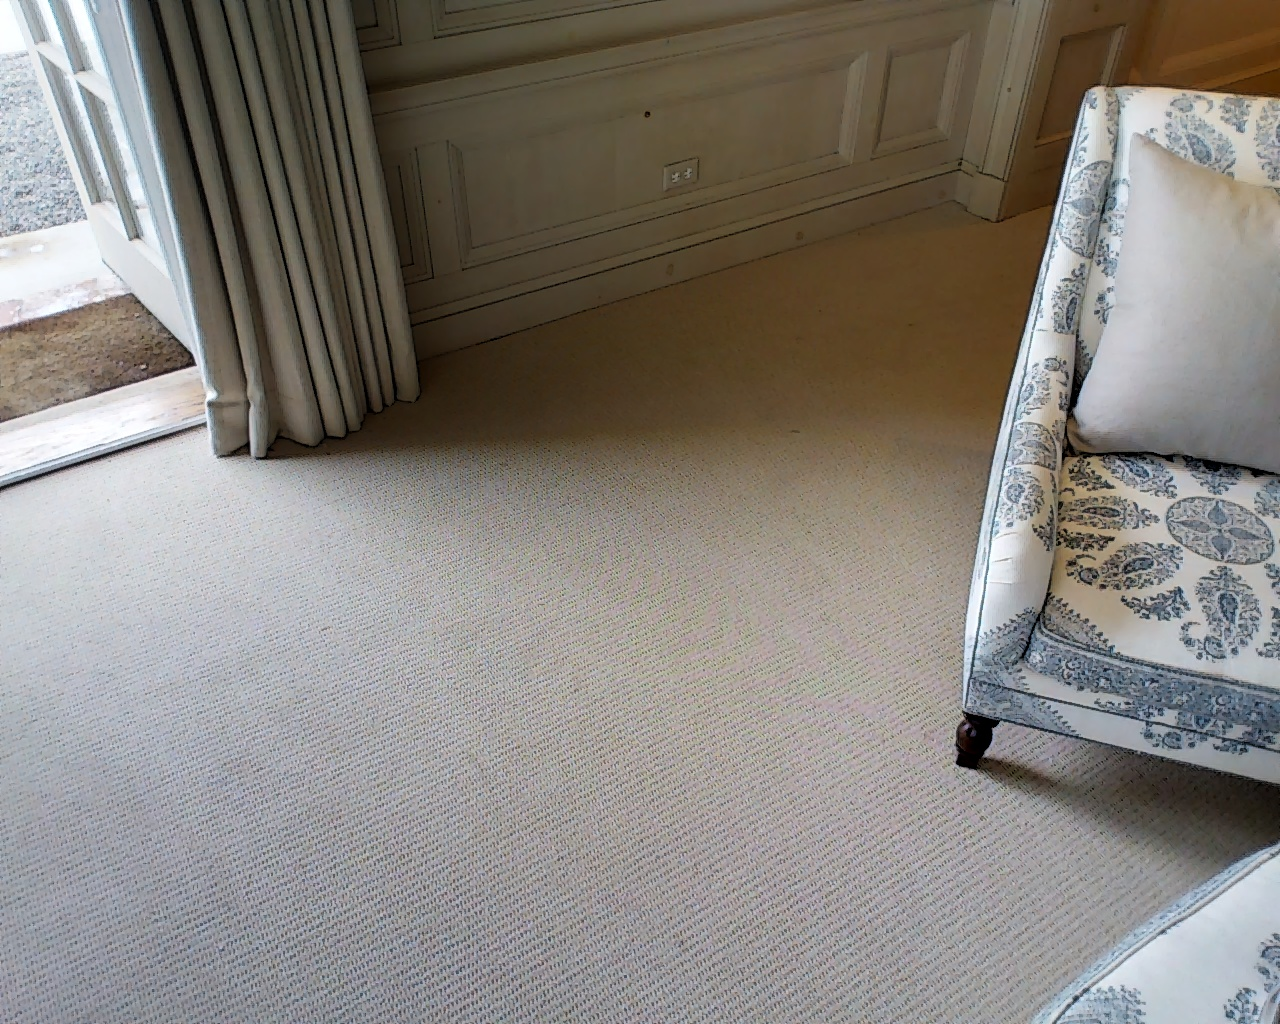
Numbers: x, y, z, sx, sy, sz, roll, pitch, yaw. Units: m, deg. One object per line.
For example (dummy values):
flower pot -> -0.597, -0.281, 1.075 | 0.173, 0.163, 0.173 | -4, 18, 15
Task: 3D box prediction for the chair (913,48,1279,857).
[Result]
chair -> 0.990, -0.130, 1.840 | 0.780, 0.890, 1.000 | 11, 43, 12
